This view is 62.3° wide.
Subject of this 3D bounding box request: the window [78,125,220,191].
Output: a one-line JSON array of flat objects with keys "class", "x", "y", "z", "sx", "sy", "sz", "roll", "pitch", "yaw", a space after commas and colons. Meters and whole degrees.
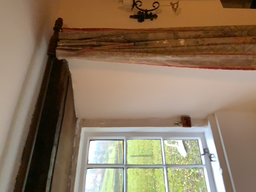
[{"class": "window", "x": 0.130, "y": 0.660, "z": 1.310, "sx": 0.130, "sy": 0.860, "sz": 0.960, "roll": 94, "pitch": 177, "yaw": -61}]
